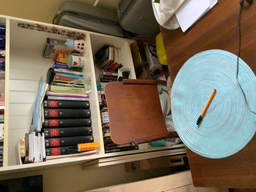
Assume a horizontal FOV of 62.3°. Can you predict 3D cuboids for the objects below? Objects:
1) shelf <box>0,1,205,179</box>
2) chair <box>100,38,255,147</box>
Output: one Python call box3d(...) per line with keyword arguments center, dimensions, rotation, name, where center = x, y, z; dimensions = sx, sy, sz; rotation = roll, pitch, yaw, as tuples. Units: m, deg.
box3d(center=(-0.500, -0.020, 1.390), dimensions=(0.410, 2.150, 0.950), rotation=(-36, 58, 52), name="shelf")
box3d(center=(0.350, 0.030, 1.250), dimensions=(0.470, 0.870, 0.390), rotation=(-33, 61, 53), name="chair")
